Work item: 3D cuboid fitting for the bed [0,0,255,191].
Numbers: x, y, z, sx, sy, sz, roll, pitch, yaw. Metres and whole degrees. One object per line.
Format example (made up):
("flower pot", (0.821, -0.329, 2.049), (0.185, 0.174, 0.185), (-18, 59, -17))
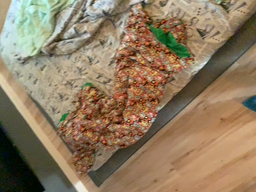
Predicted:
("bed", (-0.130, -0.630, 1.380), (1.710, 0.290, 2.180), (47, 119, 13))
